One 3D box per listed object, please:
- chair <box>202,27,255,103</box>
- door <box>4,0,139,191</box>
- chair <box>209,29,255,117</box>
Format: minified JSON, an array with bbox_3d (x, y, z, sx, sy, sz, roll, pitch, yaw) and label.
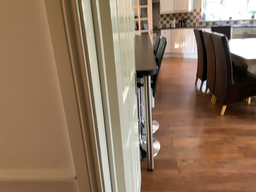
[{"bbox_3d":[1.440,-0.450,3.080,0.550,1.000,0.450,-1,20,6],"label":"chair"},{"bbox_3d":[-0.090,-0.060,0.910,0.160,1.910,0.910,-1,20,6],"label":"door"},{"bbox_3d":[1.390,-0.290,2.650,0.550,1.000,0.450,-1,20,6],"label":"chair"}]
